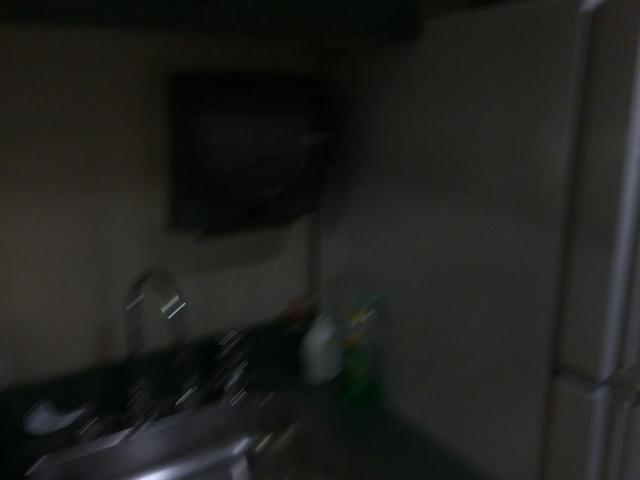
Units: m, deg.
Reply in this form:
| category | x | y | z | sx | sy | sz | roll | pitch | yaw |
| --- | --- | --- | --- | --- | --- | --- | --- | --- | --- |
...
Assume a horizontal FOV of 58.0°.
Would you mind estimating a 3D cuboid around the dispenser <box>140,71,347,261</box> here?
| category | x | y | z | sx | sy | sz | roll | pitch | yaw |
| --- | --- | --- | --- | --- | --- | --- | --- | --- | --- |
| dispenser | -0.160 | -0.160 | 1.170 | 0.320 | 0.320 | 0.260 | -6 | 16 | -34 |
